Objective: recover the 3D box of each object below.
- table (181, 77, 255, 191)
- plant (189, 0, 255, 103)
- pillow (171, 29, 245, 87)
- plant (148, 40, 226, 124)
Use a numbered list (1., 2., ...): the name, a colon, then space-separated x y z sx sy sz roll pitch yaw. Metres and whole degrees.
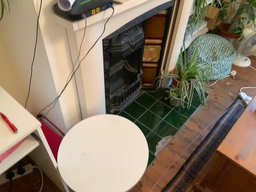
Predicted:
1. table: 0.890 0.390 1.280 0.680 0.510 0.930 33 52 25
2. plant: 1.320 -0.870 1.870 0.800 1.560 0.880 35 53 26
3. pillow: 0.820 -0.420 2.260 0.480 0.310 0.480 -15 49 -19
4. plant: 0.490 -0.130 1.830 0.360 0.440 0.480 34 52 26
